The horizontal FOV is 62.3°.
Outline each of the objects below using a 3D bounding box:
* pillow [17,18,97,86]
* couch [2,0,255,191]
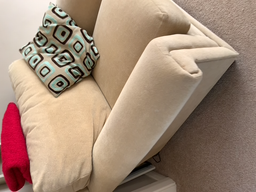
[{"bbox_3d":[-0.400,-0.290,1.310,0.140,0.400,0.470,95,170,-50],"label":"pillow"},{"bbox_3d":[-0.130,-0.200,1.220,1.190,0.860,0.940,56,134,33],"label":"couch"}]
